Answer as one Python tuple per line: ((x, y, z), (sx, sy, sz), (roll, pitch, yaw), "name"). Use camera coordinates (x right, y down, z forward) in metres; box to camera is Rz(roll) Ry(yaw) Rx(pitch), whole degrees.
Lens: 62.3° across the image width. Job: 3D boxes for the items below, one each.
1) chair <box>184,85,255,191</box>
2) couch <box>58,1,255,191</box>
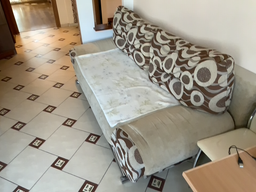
((0.710, 0.370, 1.280), (0.490, 0.740, 0.380), (-14, 37, -18), "chair")
((0.040, -0.240, 2.060), (0.970, 0.860, 2.030), (-14, 37, -18), "couch")
